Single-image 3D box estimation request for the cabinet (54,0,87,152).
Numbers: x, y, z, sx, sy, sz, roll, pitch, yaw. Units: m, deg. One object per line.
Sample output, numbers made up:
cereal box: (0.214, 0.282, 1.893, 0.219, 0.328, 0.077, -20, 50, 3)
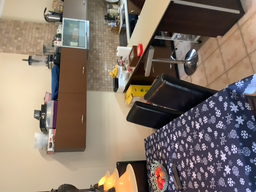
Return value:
cabinet: (-0.920, -0.690, 3.560, 0.320, 0.400, 3.140, 124, 145, -62)
